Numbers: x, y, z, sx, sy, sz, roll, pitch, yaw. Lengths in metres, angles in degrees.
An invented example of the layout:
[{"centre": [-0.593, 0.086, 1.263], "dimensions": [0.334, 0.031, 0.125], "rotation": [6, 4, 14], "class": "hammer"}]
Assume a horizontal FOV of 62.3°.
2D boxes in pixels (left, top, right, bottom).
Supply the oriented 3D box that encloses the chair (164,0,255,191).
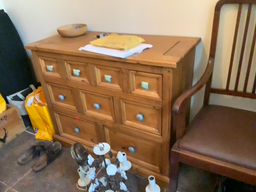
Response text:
[{"centre": [0.570, 0.110, 1.030], "dimensions": [0.600, 1.020, 0.570], "rotation": [13, 34, 27], "class": "chair"}]
